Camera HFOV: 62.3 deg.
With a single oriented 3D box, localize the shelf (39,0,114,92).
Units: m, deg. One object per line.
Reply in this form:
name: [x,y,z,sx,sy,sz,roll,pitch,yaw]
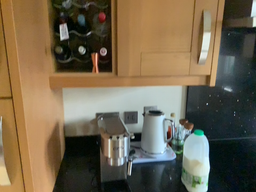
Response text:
shelf: [-0.220,-0.470,0.970,0.280,0.830,0.360,-2,16,-8]
